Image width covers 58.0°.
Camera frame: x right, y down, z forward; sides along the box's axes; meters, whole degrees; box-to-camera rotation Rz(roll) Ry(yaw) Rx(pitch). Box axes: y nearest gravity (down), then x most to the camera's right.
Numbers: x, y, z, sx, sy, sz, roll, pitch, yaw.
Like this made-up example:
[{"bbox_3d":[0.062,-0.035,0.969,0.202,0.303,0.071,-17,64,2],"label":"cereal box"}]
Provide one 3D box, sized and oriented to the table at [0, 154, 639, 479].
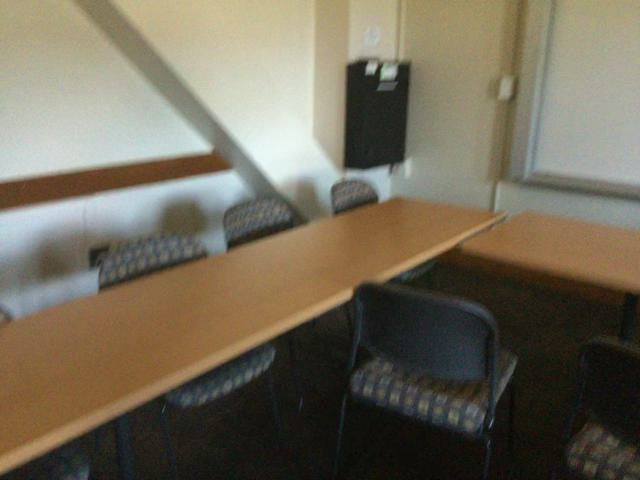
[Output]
[{"bbox_3d":[0.980,0.630,1.150,3.650,0.920,2.340,15,23,38],"label":"table"}]
